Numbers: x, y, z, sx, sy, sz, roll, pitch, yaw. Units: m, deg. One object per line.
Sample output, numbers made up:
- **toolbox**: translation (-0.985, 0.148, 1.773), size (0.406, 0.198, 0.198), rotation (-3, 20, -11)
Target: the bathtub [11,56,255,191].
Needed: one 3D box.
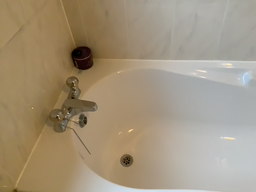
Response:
- **bathtub**: translation (0.560, 0.280, 0.930), size (1.710, 0.540, 0.710), rotation (3, 47, 10)
